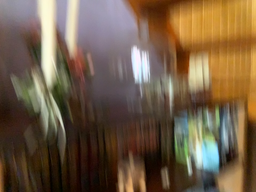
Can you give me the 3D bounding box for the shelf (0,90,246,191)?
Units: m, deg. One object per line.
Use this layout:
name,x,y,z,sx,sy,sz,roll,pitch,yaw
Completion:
shelf,0.040,0.690,0.930,1.150,1.360,0.470,-5,7,-44
